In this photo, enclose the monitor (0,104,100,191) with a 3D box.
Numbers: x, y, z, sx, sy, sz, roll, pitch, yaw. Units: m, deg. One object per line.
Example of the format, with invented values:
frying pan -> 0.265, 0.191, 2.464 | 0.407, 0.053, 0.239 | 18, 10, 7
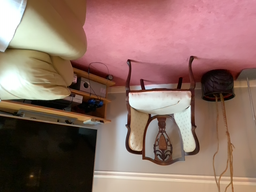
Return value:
monitor -> -0.750, 0.490, 1.870 | 1.110, 0.710, 0.030 | 16, 157, -38
